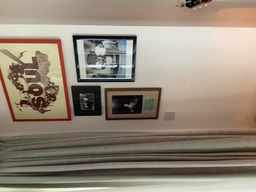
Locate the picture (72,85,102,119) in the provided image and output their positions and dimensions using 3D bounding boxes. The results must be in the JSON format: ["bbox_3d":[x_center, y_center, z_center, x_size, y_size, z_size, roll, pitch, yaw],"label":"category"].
[{"bbox_3d":[-0.300,0.050,1.570,0.020,0.200,0.290,-97,8,-56],"label":"picture"}]

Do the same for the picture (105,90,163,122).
[{"bbox_3d":[0.040,0.080,1.620,0.020,0.420,0.290,-97,8,-56],"label":"picture"}]

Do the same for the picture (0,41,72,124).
[{"bbox_3d":[-0.640,-0.060,1.470,0.020,0.430,0.640,-97,8,-56],"label":"picture"}]
